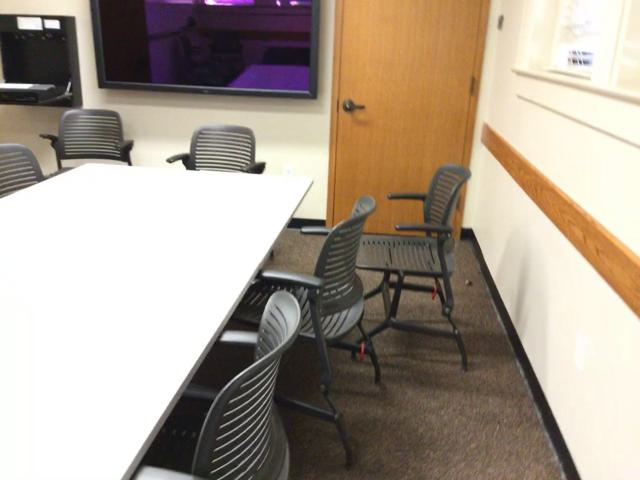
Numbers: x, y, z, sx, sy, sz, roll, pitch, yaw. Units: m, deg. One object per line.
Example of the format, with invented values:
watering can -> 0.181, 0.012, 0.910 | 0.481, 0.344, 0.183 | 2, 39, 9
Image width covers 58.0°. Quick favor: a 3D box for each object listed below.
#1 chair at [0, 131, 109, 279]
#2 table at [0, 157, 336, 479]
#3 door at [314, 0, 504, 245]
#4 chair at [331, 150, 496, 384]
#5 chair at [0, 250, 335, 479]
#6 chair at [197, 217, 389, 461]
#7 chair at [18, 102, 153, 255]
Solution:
chair -> -1.350, -0.190, 2.660 | 0.460, 0.510, 0.620 | 5, 18, 5
table -> -0.780, 0.340, 2.040 | 1.410, 0.780, 2.430 | 5, 18, 5
door -> 0.570, -1.020, 3.850 | 1.090, 2.070, 0.130 | 5, 18, 5
chair -> 0.400, 0.090, 2.680 | 0.580, 0.880, 0.600 | 5, 18, 5
chair -> -0.290, 0.530, 1.320 | 0.540, 0.820, 0.600 | 5, 18, 5
chair -> -0.070, 0.320, 2.170 | 0.590, 0.620, 0.650 | 5, 18, 5
chair -> -1.530, -0.440, 3.890 | 0.570, 0.880, 0.620 | 5, 18, 5
